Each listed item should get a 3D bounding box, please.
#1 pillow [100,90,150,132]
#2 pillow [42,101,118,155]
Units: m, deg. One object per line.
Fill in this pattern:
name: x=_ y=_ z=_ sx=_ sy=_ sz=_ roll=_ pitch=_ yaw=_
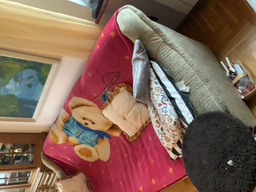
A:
pillow: x=-0.010 y=0.130 z=1.730 sx=0.370 sy=0.340 sz=0.100 roll=77 pitch=-156 yaw=-46
pillow: x=-0.430 y=0.340 z=2.100 sx=0.630 sy=0.600 sz=0.170 roll=88 pitch=-171 yaw=-50
